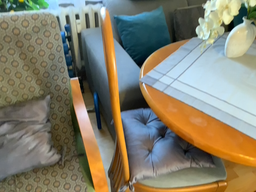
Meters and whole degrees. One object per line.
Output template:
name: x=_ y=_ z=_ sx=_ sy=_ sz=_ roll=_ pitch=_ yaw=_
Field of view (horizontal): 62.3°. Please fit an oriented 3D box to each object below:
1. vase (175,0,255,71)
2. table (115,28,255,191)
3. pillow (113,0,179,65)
vase: x=0.520 y=-0.380 z=1.120 sx=0.400 sy=0.370 sz=0.240 roll=-11 pitch=43 yaw=-16
table: x=0.690 y=0.160 z=1.330 sx=1.300 sy=0.720 sz=0.930 roll=-14 pitch=43 yaw=-18
pillow: x=0.140 y=-0.490 z=1.620 sx=0.370 sy=0.300 sz=0.180 roll=-35 pitch=43 yaw=12
